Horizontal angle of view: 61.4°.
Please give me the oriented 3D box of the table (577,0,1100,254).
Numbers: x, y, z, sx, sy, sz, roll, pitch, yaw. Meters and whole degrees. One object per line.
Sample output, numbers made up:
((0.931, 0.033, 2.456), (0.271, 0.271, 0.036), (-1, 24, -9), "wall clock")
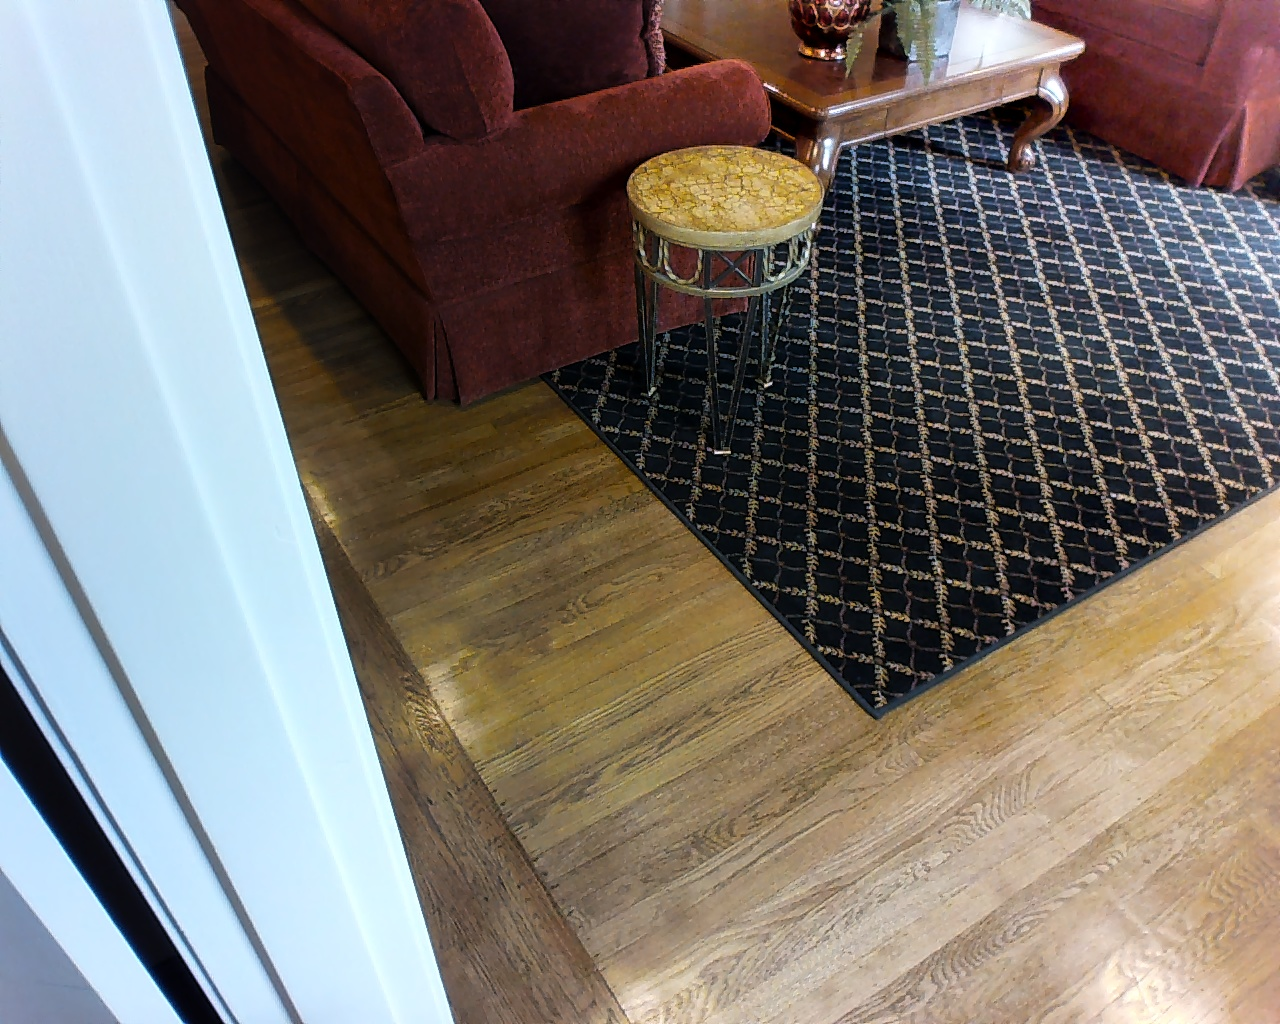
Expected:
((0.590, -1.480, 3.630), (1.070, 0.430, 1.340), (-23, 47, -23), "table")

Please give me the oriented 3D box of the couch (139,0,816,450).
((-0.620, -1.300, 3.030), (1.080, 1.010, 2.080), (-23, 47, -23), "couch")
